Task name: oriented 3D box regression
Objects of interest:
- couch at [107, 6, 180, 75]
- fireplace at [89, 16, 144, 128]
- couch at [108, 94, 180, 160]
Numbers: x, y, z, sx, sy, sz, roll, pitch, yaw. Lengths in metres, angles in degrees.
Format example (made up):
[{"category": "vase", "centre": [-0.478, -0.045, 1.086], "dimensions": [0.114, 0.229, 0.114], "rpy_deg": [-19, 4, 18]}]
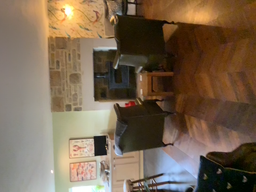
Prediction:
[{"category": "couch", "centre": [0.210, -0.900, 3.670], "dimensions": [0.770, 1.020, 0.870], "rpy_deg": [136, 131, -73]}, {"category": "fireplace", "centre": [-0.370, -0.600, 5.740], "dimensions": [1.270, 1.260, 2.630], "rpy_deg": [-155, 65, -76]}, {"category": "couch", "centre": [0.210, 0.490, 3.770], "dimensions": [0.880, 1.030, 0.830], "rpy_deg": [-127, 38, -69]}]
